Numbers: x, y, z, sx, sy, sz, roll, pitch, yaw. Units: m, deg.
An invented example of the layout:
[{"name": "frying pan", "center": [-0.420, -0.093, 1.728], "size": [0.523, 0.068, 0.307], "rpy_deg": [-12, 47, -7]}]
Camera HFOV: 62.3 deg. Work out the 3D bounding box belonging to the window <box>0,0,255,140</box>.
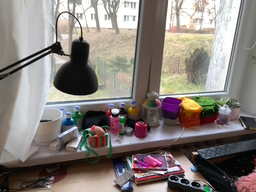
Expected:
[{"name": "window", "center": [0.110, -0.560, 1.140], "size": [1.420, 1.560, 0.130], "rpy_deg": [-3, 20, -17]}]
